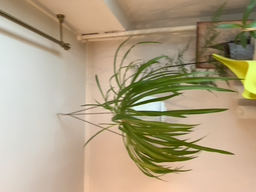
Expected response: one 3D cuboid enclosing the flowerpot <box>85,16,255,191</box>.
[{"bbox_3d":[0.300,0.060,1.110,0.530,0.880,0.710,3,-93,-76],"label":"flowerpot"}]
